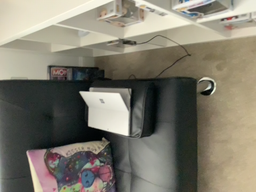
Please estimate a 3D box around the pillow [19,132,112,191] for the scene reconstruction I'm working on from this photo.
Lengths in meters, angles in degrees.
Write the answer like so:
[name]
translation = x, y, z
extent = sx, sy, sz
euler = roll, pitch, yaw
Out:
[pillow]
translation = -0.300, 0.440, 1.060
extent = 0.140, 0.410, 0.450
euler = -171, 80, -66
